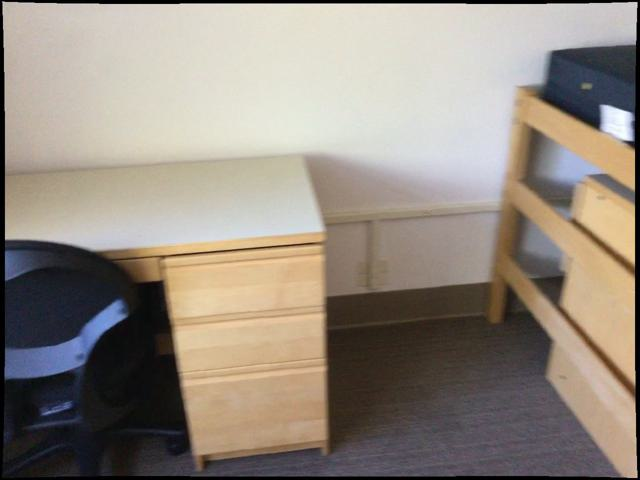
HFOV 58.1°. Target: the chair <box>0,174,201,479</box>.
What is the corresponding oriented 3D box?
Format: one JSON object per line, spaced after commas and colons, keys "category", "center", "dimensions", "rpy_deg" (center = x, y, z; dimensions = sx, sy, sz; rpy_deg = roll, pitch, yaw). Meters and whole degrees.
{"category": "chair", "center": [-0.738, 0.321, 1.610], "dimensions": [0.608, 0.862, 0.490], "rpy_deg": [-3, 27, 1]}
